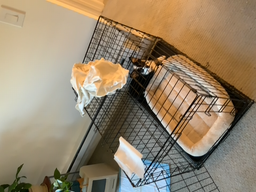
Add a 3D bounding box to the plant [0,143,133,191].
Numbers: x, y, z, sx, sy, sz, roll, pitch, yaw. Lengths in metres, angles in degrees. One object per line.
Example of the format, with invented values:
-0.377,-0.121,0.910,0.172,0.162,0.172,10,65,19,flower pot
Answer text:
-0.610,0.830,1.890,0.500,1.100,0.550,52,123,38,plant
